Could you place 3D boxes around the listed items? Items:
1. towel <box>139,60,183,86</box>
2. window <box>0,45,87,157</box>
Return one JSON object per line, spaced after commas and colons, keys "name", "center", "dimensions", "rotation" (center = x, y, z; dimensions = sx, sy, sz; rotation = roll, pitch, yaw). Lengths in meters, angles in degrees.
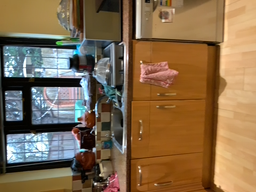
{"name": "towel", "center": [0.280, -0.190, 1.770], "dimensions": [0.060, 0.370, 0.210], "rotation": [-163, 73, -71]}
{"name": "window", "center": [-0.930, 0.050, 2.380], "dimensions": [0.130, 0.900, 1.170], "rotation": [-165, 75, -72]}
